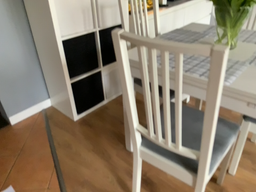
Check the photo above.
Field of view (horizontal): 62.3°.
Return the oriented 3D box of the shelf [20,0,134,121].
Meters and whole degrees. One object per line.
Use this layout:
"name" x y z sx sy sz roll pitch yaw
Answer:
"shelf" -0.390 -0.630 1.840 0.440 1.450 0.780 24 41 36
